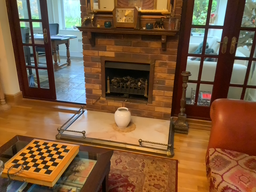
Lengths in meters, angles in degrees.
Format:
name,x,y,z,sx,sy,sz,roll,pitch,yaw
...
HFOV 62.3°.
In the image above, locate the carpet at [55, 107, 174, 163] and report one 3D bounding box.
name,x,y,z,sx,sy,sz,roll,pitch,yaw
carpet,-0.110,0.430,2.660,1.320,0.120,0.760,7,22,11
